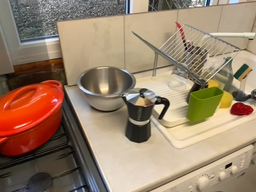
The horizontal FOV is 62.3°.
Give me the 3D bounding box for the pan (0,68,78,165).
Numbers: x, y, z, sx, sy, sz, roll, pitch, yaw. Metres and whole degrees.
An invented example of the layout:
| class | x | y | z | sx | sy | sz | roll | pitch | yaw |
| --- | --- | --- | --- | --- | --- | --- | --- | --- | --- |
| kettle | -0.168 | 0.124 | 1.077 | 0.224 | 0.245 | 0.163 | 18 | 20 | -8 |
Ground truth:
| class | x | y | z | sx | sy | sz | roll | pitch | yaw |
| --- | --- | --- | --- | --- | --- | --- | --- | --- | --- |
| pan | -0.350 | 0.050 | 0.760 | 0.260 | 0.140 | 0.300 | -13 | 39 | -20 |
